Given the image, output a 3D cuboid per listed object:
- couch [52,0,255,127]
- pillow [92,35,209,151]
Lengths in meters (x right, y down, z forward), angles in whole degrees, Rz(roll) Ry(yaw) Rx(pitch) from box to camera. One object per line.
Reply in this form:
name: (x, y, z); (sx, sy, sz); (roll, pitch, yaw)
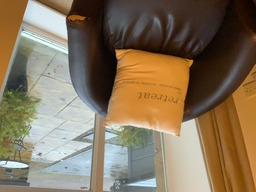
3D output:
couch: (0.110, -0.290, 1.040); (0.730, 0.680, 0.640); (3, 151, -8)
pillow: (0.100, -0.010, 1.020); (0.420, 0.380, 0.140); (25, 180, -11)
